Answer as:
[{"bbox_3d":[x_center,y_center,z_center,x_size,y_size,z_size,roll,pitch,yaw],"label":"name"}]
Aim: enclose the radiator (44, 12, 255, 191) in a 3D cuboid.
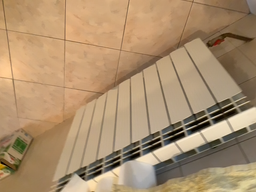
[{"bbox_3d":[0.080,0.050,1.000,0.920,0.740,0.170,-31,119,20],"label":"radiator"}]
